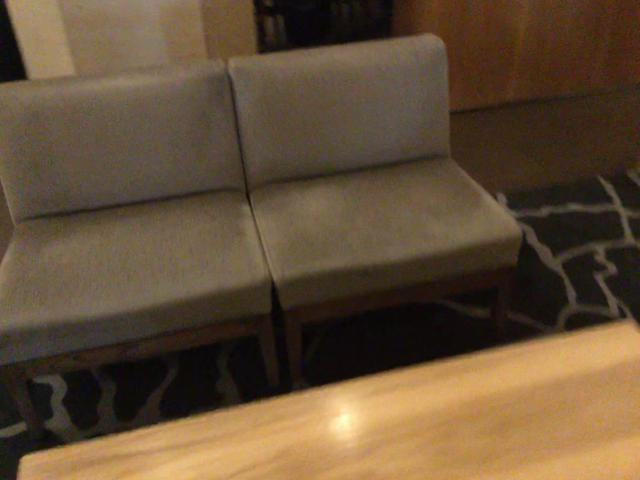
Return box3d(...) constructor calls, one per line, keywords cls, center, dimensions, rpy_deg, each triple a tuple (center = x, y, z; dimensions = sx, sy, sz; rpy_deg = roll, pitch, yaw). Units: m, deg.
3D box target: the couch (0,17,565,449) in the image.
box3d(cls="couch", center=(-0.200, -0.100, 1.770), dimensions=(1.480, 0.840, 0.730), rpy_deg=(-10, 33, -10))
